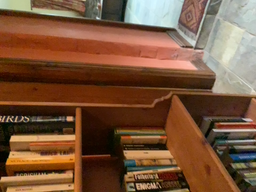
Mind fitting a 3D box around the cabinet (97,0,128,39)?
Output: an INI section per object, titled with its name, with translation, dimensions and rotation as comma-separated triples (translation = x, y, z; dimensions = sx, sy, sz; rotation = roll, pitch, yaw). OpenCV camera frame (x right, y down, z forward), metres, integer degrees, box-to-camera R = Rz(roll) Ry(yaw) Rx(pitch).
[cabinet]
translation = -0.390, -1.930, 5.040
dimensions = 0.550, 0.570, 0.930
rotation = -110, 26, -54
